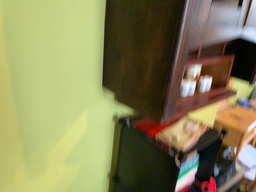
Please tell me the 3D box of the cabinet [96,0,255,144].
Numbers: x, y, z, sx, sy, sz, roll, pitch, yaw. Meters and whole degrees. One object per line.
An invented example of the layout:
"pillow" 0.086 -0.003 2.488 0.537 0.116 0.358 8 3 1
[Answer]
"cabinet" 0.320 -0.470 0.920 0.790 1.090 0.370 -14 29 -40
